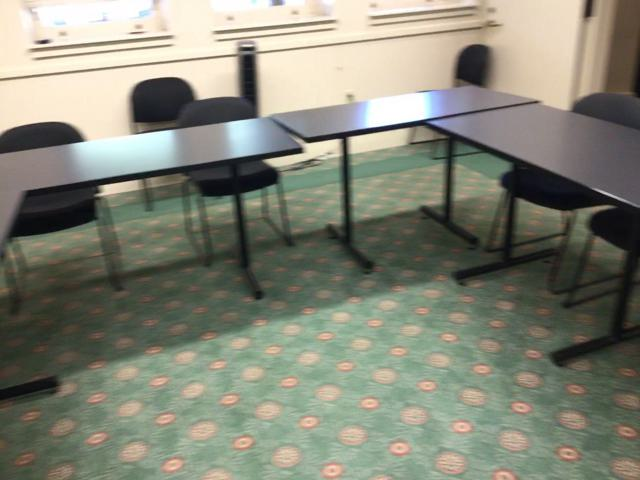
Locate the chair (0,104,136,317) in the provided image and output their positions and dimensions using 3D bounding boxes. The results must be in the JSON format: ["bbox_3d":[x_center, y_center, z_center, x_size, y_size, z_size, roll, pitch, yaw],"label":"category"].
[{"bbox_3d":[-1.250,-0.170,2.760,0.550,0.780,0.580,-11,26,-16],"label":"chair"}]

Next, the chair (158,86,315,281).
[{"bbox_3d":[-0.440,-0.330,3.040,0.590,0.780,0.640,-13,26,-18],"label":"chair"}]

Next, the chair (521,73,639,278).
[{"bbox_3d":[1.230,-0.310,2.620,0.300,0.770,0.510,-11,26,-14],"label":"chair"}]
